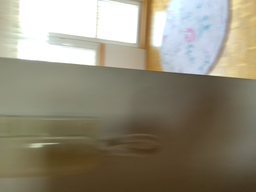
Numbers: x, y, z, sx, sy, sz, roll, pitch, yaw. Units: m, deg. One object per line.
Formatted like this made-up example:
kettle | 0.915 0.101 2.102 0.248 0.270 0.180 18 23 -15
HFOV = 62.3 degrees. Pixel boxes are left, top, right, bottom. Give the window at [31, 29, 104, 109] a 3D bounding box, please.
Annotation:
window | -1.040 -0.430 3.720 0.260 1.140 1.250 -164 77 -72
